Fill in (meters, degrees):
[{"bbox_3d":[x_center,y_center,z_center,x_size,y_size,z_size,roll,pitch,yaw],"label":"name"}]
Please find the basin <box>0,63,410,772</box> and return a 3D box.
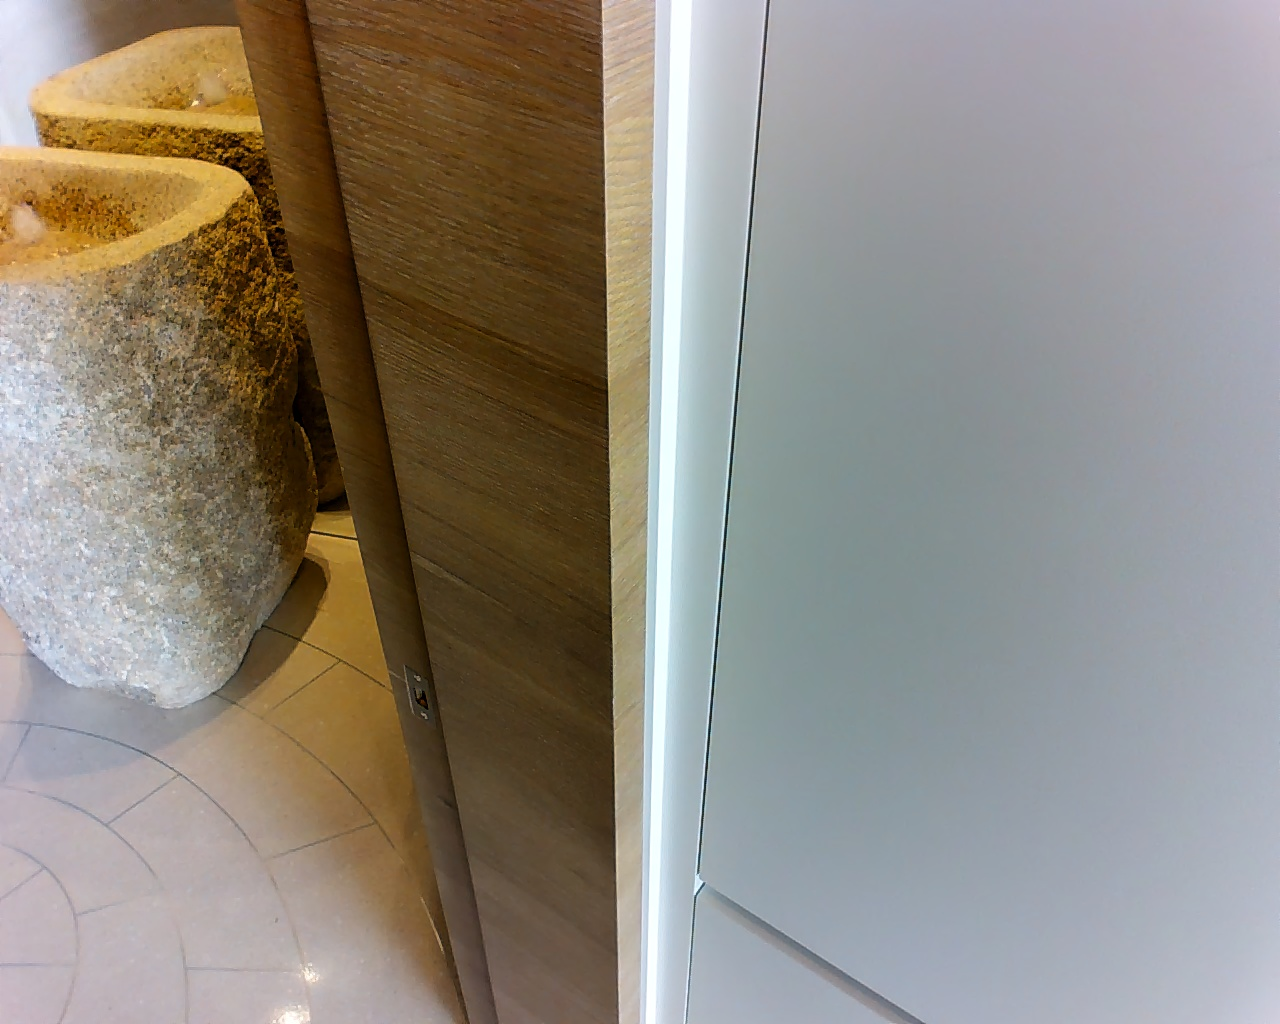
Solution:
[{"bbox_3d":[-0.990,-0.180,1.880,0.860,0.930,0.600,14,43,14],"label":"basin"}]
